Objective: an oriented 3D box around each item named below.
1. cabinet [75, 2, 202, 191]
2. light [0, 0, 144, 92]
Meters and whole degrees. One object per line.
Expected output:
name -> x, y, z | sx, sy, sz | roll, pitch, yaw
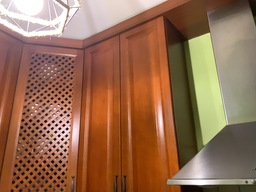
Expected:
cabinet -> 0.040, 0.080, 1.280 | 0.590, 0.320, 1.070 | -13, -113, 30
light -> -0.400, -0.400, 0.810 | 0.590, 0.740, 0.450 | -16, -115, 34
